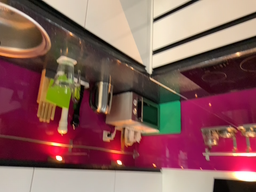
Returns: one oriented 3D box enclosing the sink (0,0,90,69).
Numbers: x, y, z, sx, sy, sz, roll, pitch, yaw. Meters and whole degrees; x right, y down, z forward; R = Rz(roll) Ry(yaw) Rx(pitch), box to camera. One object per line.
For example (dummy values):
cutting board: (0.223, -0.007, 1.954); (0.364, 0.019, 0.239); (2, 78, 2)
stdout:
sink: (-0.630, -0.400, 1.110); (0.590, 0.180, 0.600); (-12, 157, 38)
